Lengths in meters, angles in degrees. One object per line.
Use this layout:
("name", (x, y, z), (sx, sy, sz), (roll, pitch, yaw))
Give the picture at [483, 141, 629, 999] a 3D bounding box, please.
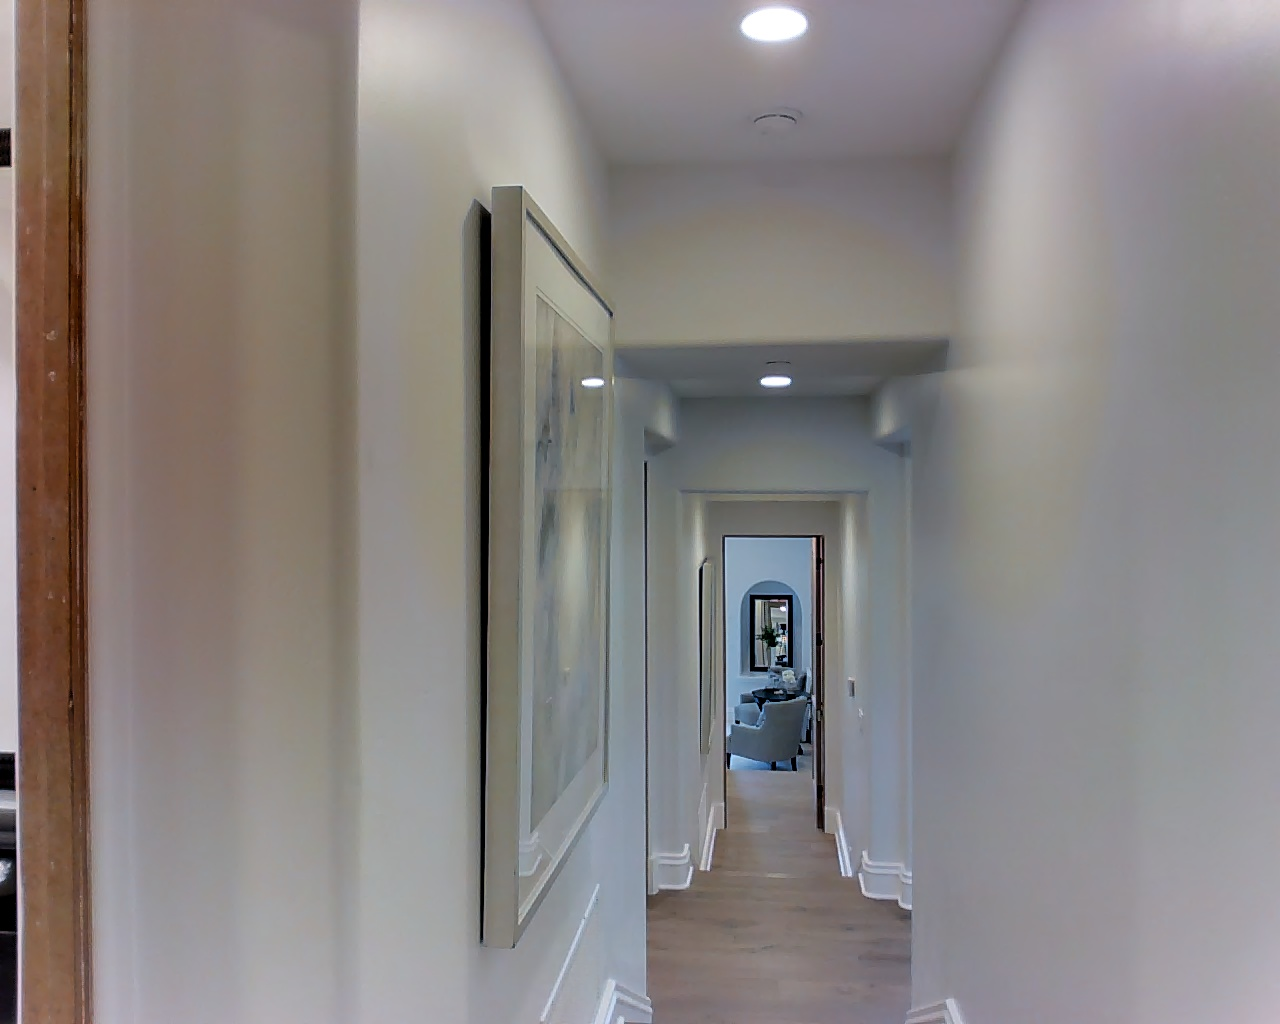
("picture", (-0.150, 0.100, 2.400), (0.080, 1.470, 1.120), (1, 0, 7))
